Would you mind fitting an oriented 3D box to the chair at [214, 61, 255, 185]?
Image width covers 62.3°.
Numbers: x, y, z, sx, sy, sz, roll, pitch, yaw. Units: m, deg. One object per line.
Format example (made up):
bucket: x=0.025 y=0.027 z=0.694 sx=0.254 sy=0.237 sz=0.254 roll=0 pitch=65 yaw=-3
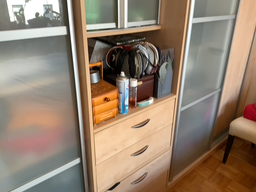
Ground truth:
chair: x=1.240 y=0.210 z=1.910 sx=0.610 sy=0.940 sz=0.470 roll=-20 pitch=32 yaw=-37
